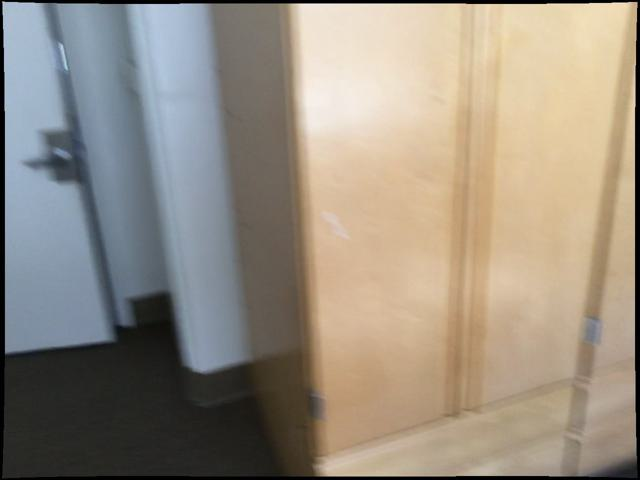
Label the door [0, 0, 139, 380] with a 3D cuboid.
[{"bbox_3d":[-1.486,-0.261,2.450,0.958,1.844,0.240,-10,23,-6],"label":"door"}]
